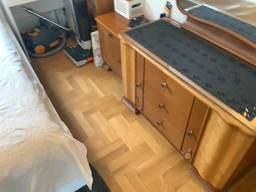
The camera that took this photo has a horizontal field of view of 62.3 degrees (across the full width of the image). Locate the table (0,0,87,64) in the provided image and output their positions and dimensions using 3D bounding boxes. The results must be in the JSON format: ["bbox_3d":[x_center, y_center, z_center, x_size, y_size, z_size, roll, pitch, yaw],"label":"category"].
[{"bbox_3d":[-0.990,-0.940,2.440,0.750,0.770,0.530,-26,49,-23],"label":"table"}]

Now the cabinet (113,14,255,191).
[{"bbox_3d":[0.430,-0.010,1.520,0.540,0.670,1.080,-26,49,-23],"label":"cabinet"}]
